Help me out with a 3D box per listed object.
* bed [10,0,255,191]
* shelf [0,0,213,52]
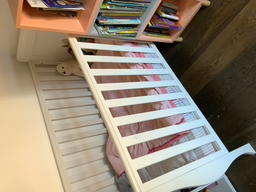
[{"bbox_3d":[-0.050,0.010,1.570,0.610,1.190,1.540,-53,54,41],"label":"bed"},{"bbox_3d":[-0.070,-0.580,1.260,0.410,1.160,0.380,-52,54,41],"label":"shelf"}]
